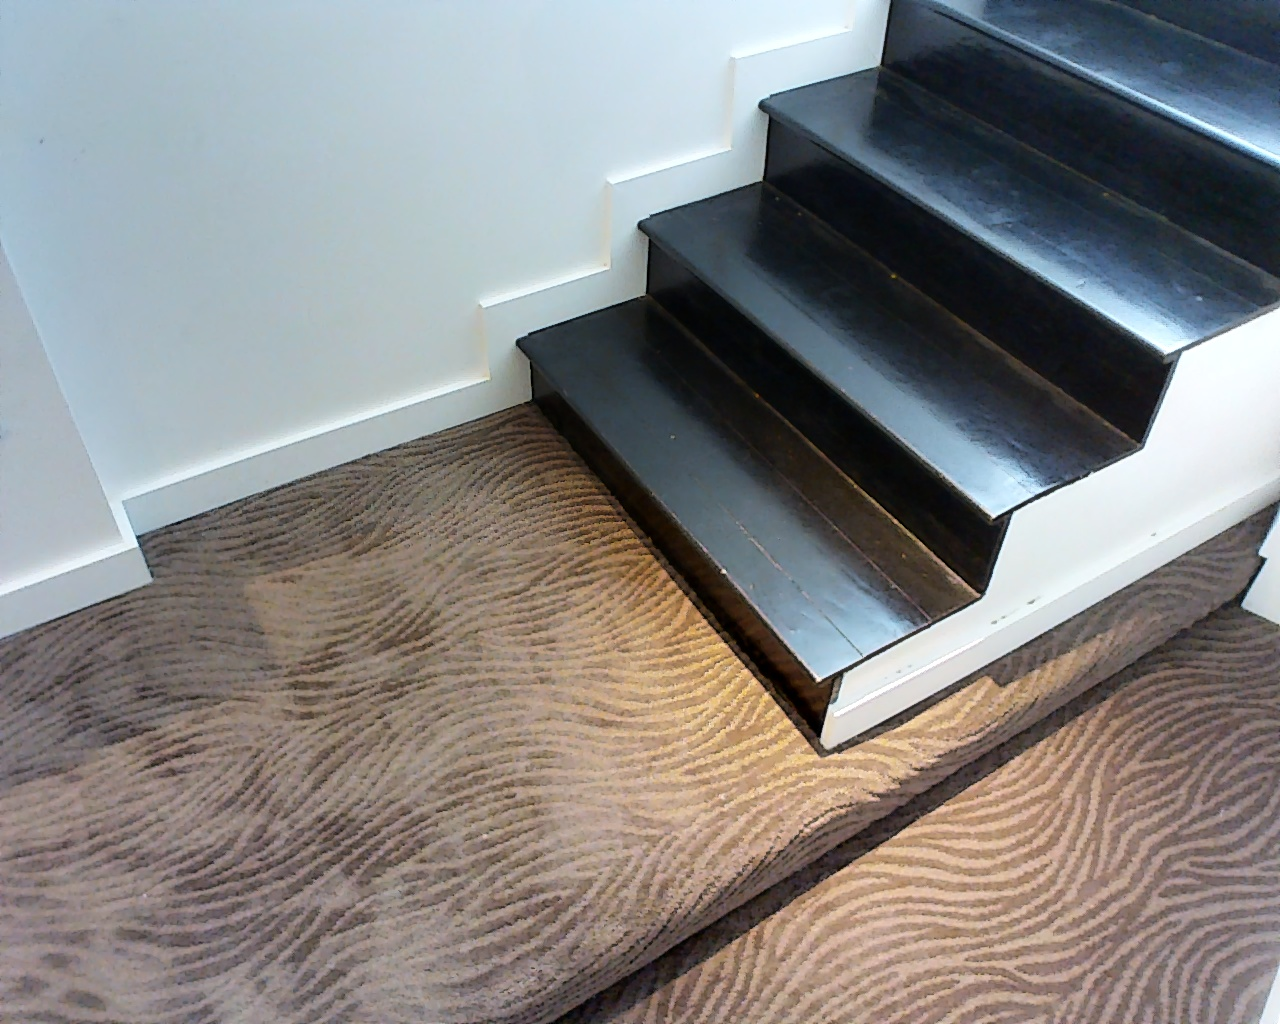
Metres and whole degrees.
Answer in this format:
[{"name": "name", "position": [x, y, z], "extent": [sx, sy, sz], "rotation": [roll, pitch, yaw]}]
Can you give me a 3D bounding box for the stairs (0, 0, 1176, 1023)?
[{"name": "stairs", "position": [-0.480, 0.080, 0.880], "extent": [1.070, 0.930, 3.310], "rotation": [27, 24, 24]}]
